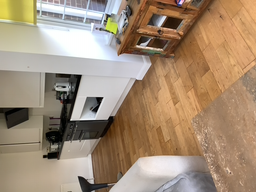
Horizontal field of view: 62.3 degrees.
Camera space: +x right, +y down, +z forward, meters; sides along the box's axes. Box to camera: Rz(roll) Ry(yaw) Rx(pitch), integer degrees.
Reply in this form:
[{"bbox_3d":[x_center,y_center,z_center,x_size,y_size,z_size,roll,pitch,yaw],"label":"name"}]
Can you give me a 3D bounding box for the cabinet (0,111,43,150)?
[{"bbox_3d":[-2.610,0.860,5.100,1.420,0.990,0.330,122,143,-50],"label":"cabinet"}]
